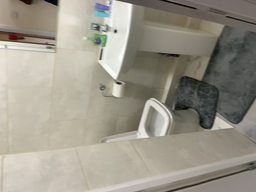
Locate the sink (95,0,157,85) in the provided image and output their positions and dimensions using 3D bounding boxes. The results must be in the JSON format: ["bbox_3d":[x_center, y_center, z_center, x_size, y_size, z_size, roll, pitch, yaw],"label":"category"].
[{"bbox_3d":[-0.040,-0.420,1.430,0.410,0.150,0.570,46,129,51],"label":"sink"}]

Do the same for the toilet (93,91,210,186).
[{"bbox_3d":[0.180,0.320,1.850,0.410,0.800,0.610,43,127,53],"label":"toilet"}]
